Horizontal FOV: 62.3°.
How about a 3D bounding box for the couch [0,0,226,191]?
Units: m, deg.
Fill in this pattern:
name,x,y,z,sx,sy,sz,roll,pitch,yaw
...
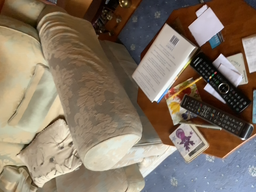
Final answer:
name,x,y,z,sx,sy,sz,roll,pitch,yaw
couch,-0.640,0.420,1.500,1.940,0.910,1.170,-48,56,30
